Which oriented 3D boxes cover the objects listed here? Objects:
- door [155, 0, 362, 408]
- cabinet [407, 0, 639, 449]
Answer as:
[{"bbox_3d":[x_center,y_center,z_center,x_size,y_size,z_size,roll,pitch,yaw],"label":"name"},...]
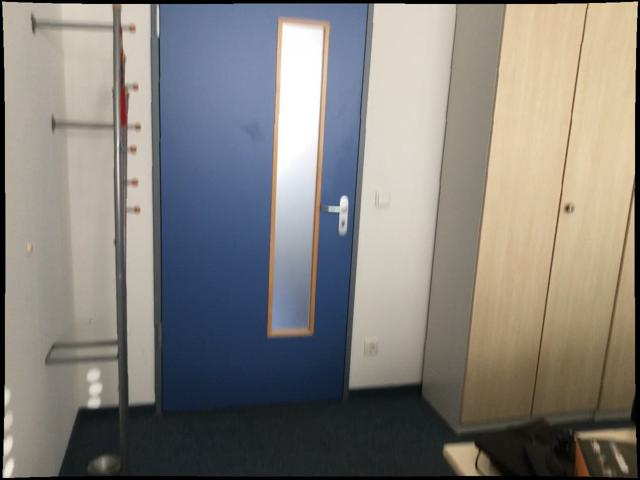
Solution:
[{"bbox_3d":[-0.280,-0.180,2.790,0.899,1.992,0.180,-2,13,-11],"label":"door"},{"bbox_3d":[1.498,-0.290,2.880,1.888,2.342,0.610,-2,15,-14],"label":"cabinet"}]
